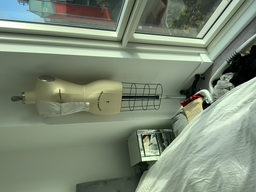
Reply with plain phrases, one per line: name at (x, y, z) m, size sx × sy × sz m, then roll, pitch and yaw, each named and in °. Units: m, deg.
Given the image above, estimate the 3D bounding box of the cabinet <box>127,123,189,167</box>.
cabinet at (0.310, 0.550, 2.380) m, size 0.440 × 0.500 × 0.310 m, roll 119°, pitch 145°, yaw -54°
